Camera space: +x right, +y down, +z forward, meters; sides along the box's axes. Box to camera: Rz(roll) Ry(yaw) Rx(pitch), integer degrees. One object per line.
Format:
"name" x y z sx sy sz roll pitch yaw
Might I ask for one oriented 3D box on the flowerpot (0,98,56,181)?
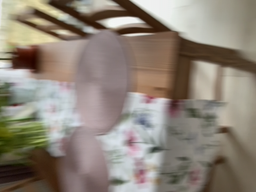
"flowerpot" -0.660 0.200 1.060 0.300 0.460 0.330 15 100 46
